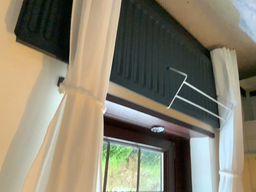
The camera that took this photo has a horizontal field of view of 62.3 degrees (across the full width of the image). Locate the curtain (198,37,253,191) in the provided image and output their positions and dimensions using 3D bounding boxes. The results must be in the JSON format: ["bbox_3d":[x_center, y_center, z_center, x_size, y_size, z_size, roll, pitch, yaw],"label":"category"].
[{"bbox_3d":[0.640,0.720,1.290,0.190,2.330,0.260,-14,154,40],"label":"curtain"}]
